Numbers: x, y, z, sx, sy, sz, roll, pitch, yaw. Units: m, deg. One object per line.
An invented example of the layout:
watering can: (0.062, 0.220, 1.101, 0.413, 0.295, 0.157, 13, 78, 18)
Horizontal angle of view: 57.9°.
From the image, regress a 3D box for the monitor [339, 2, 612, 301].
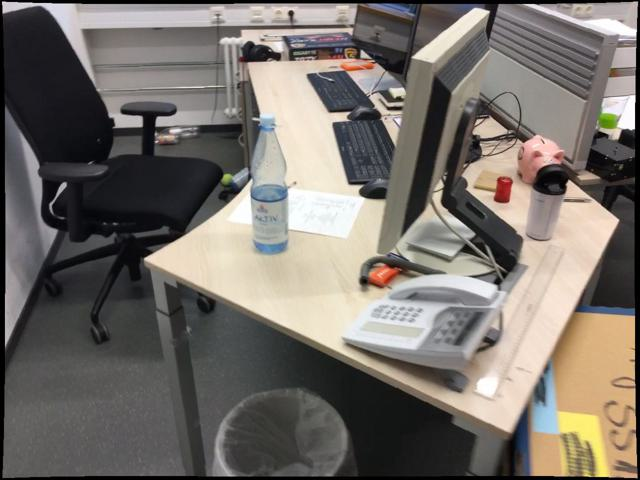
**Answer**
monitor: (0.260, -0.200, 1.200, 0.360, 0.470, 0.400, -5, 33, -8)
